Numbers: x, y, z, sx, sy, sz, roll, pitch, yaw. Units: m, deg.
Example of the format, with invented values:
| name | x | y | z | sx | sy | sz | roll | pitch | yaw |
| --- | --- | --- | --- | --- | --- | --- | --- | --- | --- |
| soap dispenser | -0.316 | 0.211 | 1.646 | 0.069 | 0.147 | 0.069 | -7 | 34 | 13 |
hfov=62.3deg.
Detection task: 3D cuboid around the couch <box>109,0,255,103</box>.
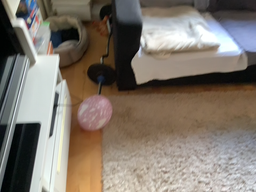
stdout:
| name | x | y | z | sx | sy | sz | roll | pitch | yaw |
| --- | --- | --- | --- | --- | --- | --- | --- | --- | --- |
| couch | 0.950 | -0.610 | 1.680 | 2.160 | 0.750 | 0.960 | -3 | 54 | -6 |
